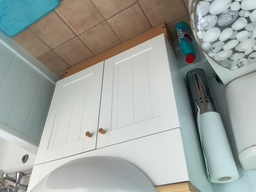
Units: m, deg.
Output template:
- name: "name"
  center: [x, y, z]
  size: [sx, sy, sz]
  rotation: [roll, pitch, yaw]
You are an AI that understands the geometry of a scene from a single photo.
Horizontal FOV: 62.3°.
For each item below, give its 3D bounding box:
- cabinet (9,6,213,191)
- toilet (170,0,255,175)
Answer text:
- name: "cabinet"
  center: [-0.080, 0.080, 1.110]
  size: [0.740, 0.820, 0.390]
  rotation: [-20, 138, 22]
- name: "toilet"
  center: [0.450, -0.230, 0.760]
  size: [0.420, 0.760, 0.670]
  rotation: [-20, 138, 22]
